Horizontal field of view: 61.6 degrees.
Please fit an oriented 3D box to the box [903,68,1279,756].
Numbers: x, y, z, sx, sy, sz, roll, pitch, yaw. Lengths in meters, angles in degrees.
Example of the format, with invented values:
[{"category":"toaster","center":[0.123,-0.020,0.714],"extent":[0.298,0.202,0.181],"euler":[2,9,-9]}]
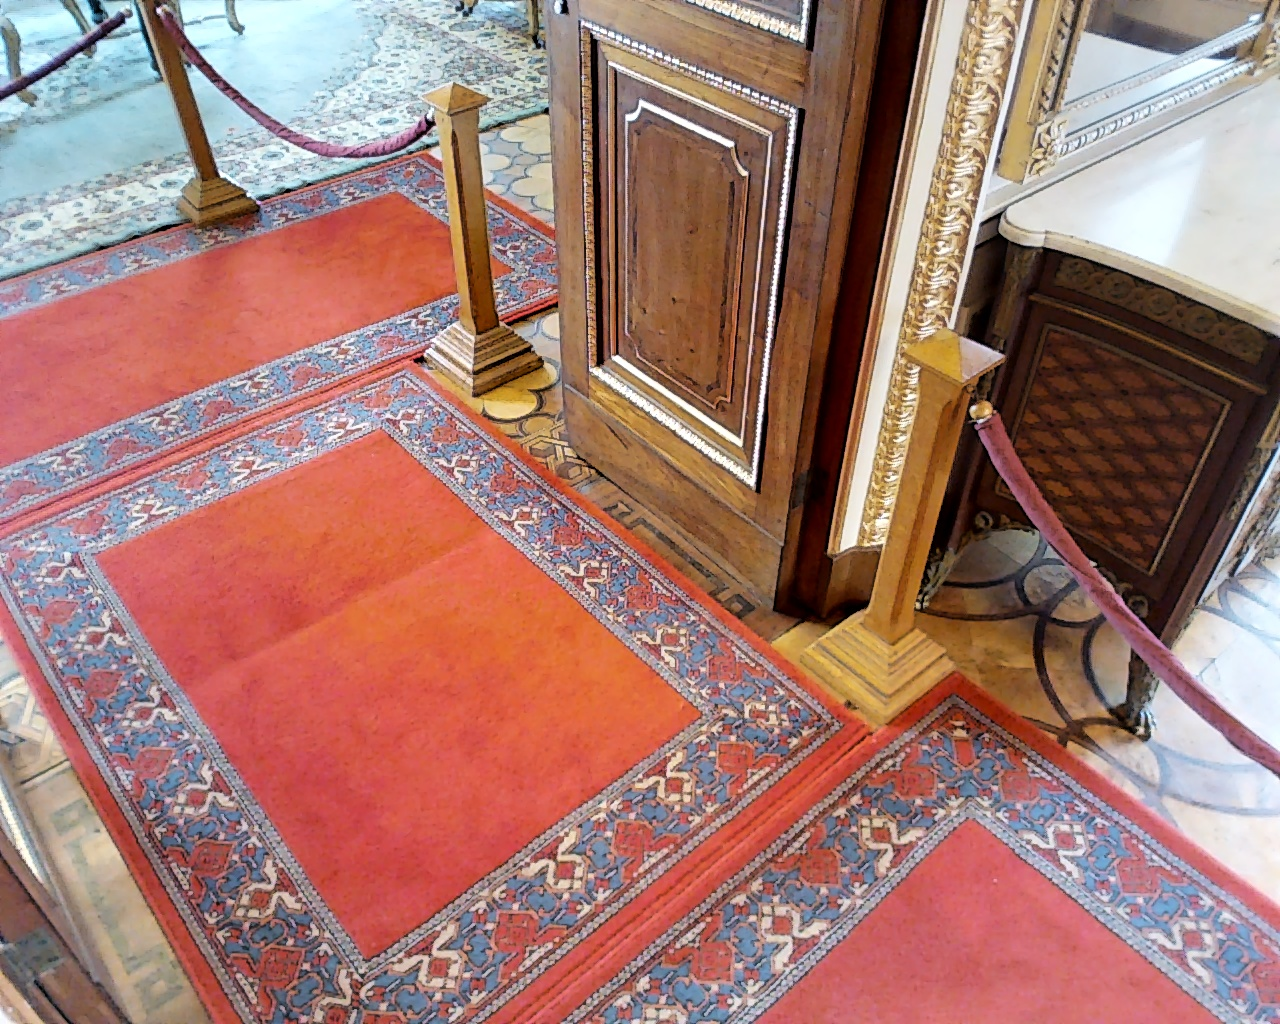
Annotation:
[{"category":"box","center":[1.180,-0.240,2.200],"extent":[1.020,0.920,0.600],"euler":[-29,50,-29]}]
